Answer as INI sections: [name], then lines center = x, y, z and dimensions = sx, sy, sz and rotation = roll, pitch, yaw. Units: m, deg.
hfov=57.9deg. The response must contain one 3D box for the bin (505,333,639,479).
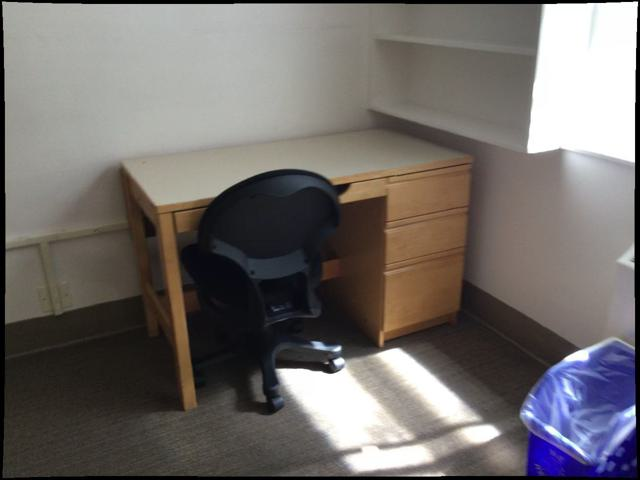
[bin]
center = 0.809, 0.531, 1.640
dimensions = 0.420, 0.330, 0.300
rotation = -12, 26, -24

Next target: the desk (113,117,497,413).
[desk]
center = -0.050, 0.000, 2.360
dimensions = 1.309, 0.741, 0.670
rotation = -13, 26, -25

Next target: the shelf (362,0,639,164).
[shelf]
center = 0.589, -1.191, 2.030
dimensions = 0.370, 1.591, 1.060
rotation = -12, 26, -24
